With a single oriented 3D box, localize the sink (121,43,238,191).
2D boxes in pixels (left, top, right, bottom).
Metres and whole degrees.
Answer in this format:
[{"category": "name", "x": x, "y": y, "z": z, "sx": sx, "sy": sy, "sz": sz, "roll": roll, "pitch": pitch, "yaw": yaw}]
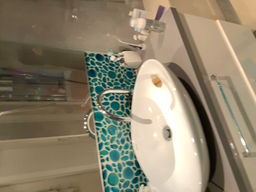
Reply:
[{"category": "sink", "x": 0.160, "y": 0.150, "z": 0.890, "sx": 0.380, "sy": 0.130, "sz": 0.610, "roll": -46, "pitch": 50, "yaw": 53}]
